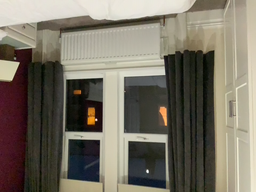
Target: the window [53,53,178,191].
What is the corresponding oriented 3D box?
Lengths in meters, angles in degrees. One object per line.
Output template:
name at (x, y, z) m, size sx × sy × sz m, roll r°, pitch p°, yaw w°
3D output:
window at (-0.190, 0.450, 3.040) m, size 1.740 × 1.950 × 0.340 m, roll -1°, pitch 176°, yaw 13°
